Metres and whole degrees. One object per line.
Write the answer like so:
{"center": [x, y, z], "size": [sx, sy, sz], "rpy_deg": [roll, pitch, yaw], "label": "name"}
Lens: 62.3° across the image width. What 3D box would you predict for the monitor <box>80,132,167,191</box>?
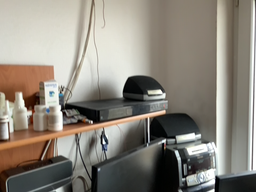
{"center": [0.020, 0.390, 0.900], "size": [0.030, 0.350, 0.470], "rpy_deg": [2, 11, 42], "label": "monitor"}
